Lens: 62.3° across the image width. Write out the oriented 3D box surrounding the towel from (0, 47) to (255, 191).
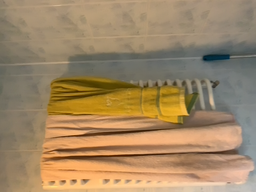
[{"bbox_3d":[0.050,0.110,0.910,0.260,0.980,0.550,88,180,-67],"label":"towel"}]
